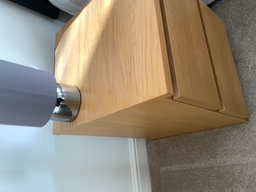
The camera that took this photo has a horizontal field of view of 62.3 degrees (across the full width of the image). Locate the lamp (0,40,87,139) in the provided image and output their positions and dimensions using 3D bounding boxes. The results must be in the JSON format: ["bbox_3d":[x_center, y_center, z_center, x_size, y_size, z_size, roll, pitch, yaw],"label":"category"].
[{"bbox_3d":[-0.280,0.010,0.580,0.230,0.240,0.180,-19,67,42],"label":"lamp"}]
